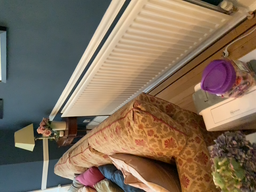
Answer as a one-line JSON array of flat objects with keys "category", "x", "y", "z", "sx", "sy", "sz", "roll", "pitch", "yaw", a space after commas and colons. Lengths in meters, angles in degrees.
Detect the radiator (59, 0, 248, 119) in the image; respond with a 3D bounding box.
[{"category": "radiator", "x": -0.010, "y": -0.140, "z": 2.040, "sx": 1.970, "sy": 0.840, "sz": 0.100, "roll": -40, "pitch": 55, "yaw": 52}]
